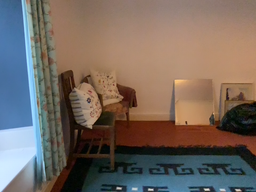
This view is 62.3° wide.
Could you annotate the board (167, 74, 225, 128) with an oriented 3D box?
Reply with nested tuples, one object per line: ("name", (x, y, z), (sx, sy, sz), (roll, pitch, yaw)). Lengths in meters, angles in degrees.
("board", (1.050, 0.080, 3.340), (0.650, 0.650, 0.170), (19, 12, -4))
